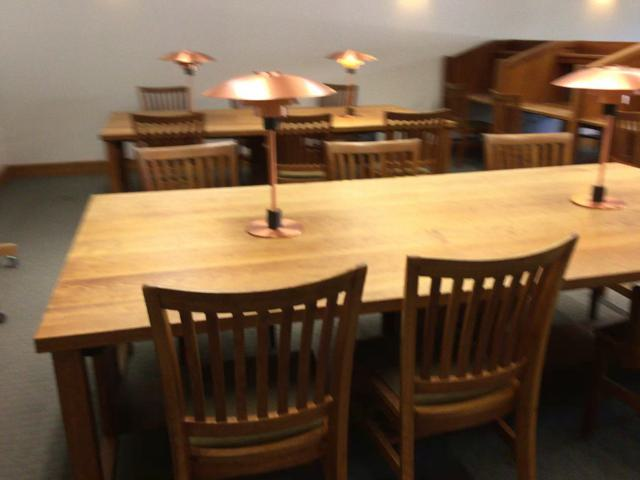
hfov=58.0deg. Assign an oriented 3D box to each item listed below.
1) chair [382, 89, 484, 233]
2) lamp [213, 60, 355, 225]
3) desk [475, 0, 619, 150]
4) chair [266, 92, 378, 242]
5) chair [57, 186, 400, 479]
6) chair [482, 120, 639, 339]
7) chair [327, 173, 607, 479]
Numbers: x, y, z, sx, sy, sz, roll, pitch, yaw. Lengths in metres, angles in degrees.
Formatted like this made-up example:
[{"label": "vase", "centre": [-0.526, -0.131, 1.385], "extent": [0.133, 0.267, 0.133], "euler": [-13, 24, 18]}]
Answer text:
[{"label": "chair", "centre": [0.830, -0.620, 4.390], "extent": [0.540, 0.910, 0.610], "euler": [-8, 23, -9]}, {"label": "lamp", "centre": [-0.130, -0.350, 1.980], "extent": [0.400, 0.450, 0.370], "euler": [-8, 23, -9]}, {"label": "desk", "centre": [2.320, -1.790, 6.130], "extent": [0.860, 1.350, 1.110], "euler": [-8, 23, -9]}, {"label": "chair", "centre": [0.010, -0.570, 4.330], "extent": [0.680, 0.920, 0.630], "euler": [-8, 23, -9]}, {"label": "chair", "centre": [-0.200, 0.440, 1.610], "extent": [0.670, 0.970, 0.630], "euler": [-8, 23, -9]}, {"label": "chair", "centre": [1.260, -0.080, 2.960], "extent": [0.590, 0.910, 0.570], "euler": [-8, 23, -10]}, {"label": "chair", "centre": [0.390, 0.360, 1.790], "extent": [0.540, 0.950, 0.580], "euler": [-9, 23, -14]}]
